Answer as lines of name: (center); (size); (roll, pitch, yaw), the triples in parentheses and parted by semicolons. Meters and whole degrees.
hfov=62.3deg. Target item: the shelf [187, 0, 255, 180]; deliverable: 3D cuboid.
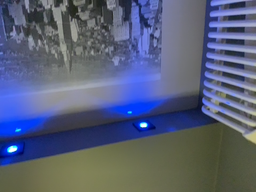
shelf: (0.470, -0.130, 0.820); (0.190, 0.750, 0.470); (-7, -161, -17)
